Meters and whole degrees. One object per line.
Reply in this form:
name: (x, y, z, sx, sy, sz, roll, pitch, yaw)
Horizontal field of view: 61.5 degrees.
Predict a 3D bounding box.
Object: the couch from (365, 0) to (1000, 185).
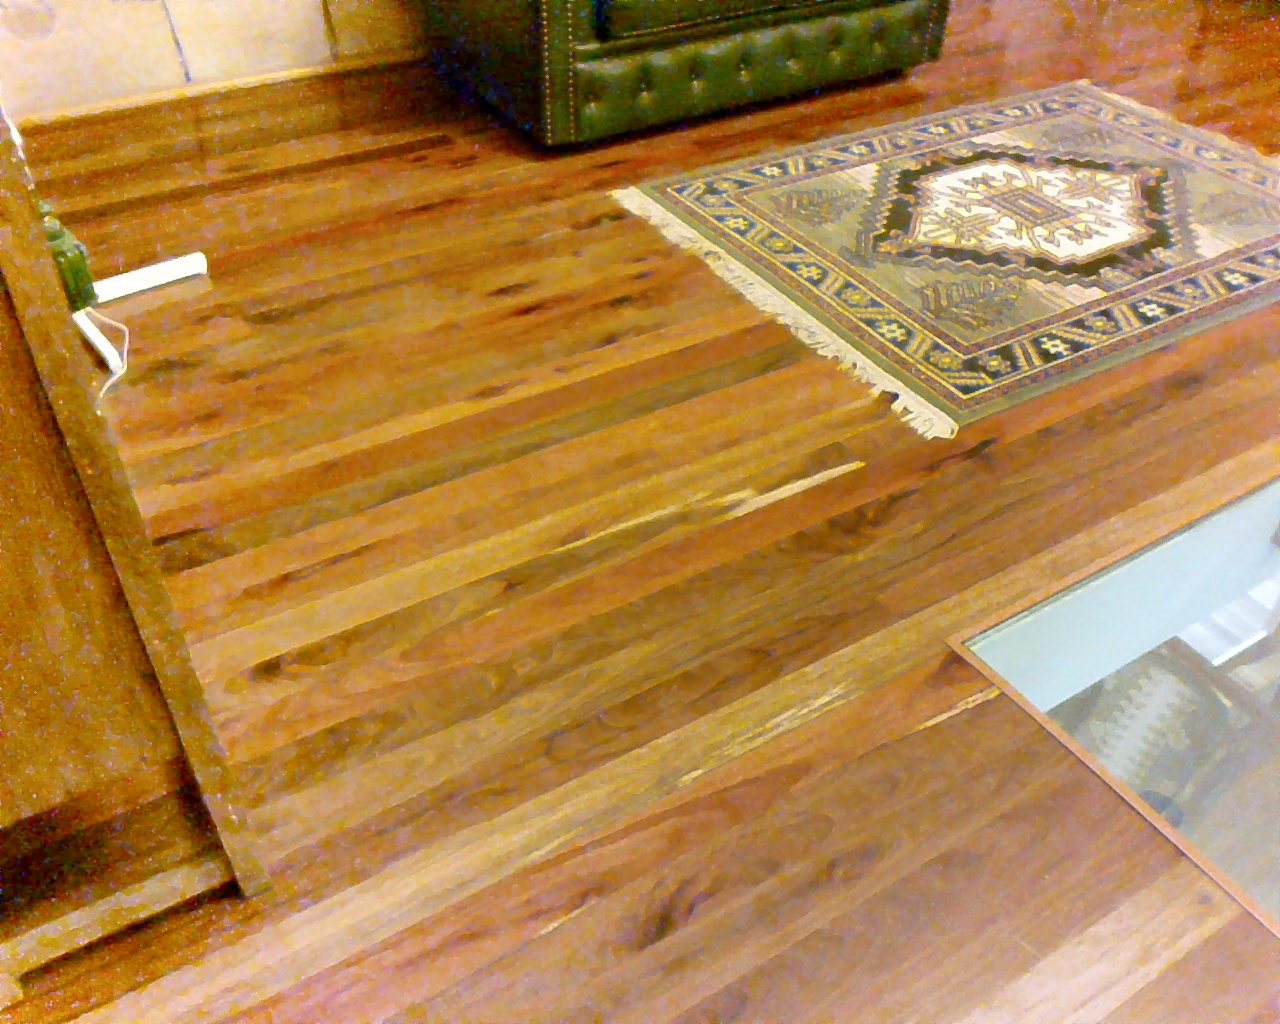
couch: (0.130, -1.670, 3.180, 1.650, 0.740, 1.010, -21, 44, -24)
